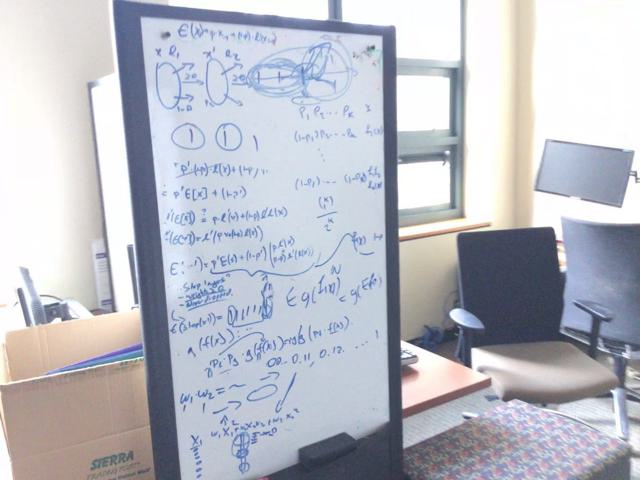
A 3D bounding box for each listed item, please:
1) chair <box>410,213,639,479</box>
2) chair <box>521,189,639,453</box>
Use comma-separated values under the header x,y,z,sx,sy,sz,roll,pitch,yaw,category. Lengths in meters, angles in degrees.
x,y,z,sx,sy,sz,roll,pitch,yaw,category
0.830,0.460,2.340,0.640,1.010,0.670,-8,10,-13,chair
1.400,0.320,2.650,0.540,1.020,0.700,-11,12,-31,chair
